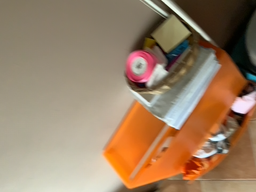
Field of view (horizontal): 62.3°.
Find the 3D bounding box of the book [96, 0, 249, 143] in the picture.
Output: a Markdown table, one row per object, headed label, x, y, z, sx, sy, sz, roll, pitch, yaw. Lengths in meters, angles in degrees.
| label | x | y | z | sx | sy | sz | roll | pitch | yaw |
| --- | --- | --- | --- | --- | --- | --- | --- | --- | --- |
| book | 0.120 | -0.060 | 0.600 | 0.260 | 0.210 | 0.270 | 41 | 105 | 35 |
